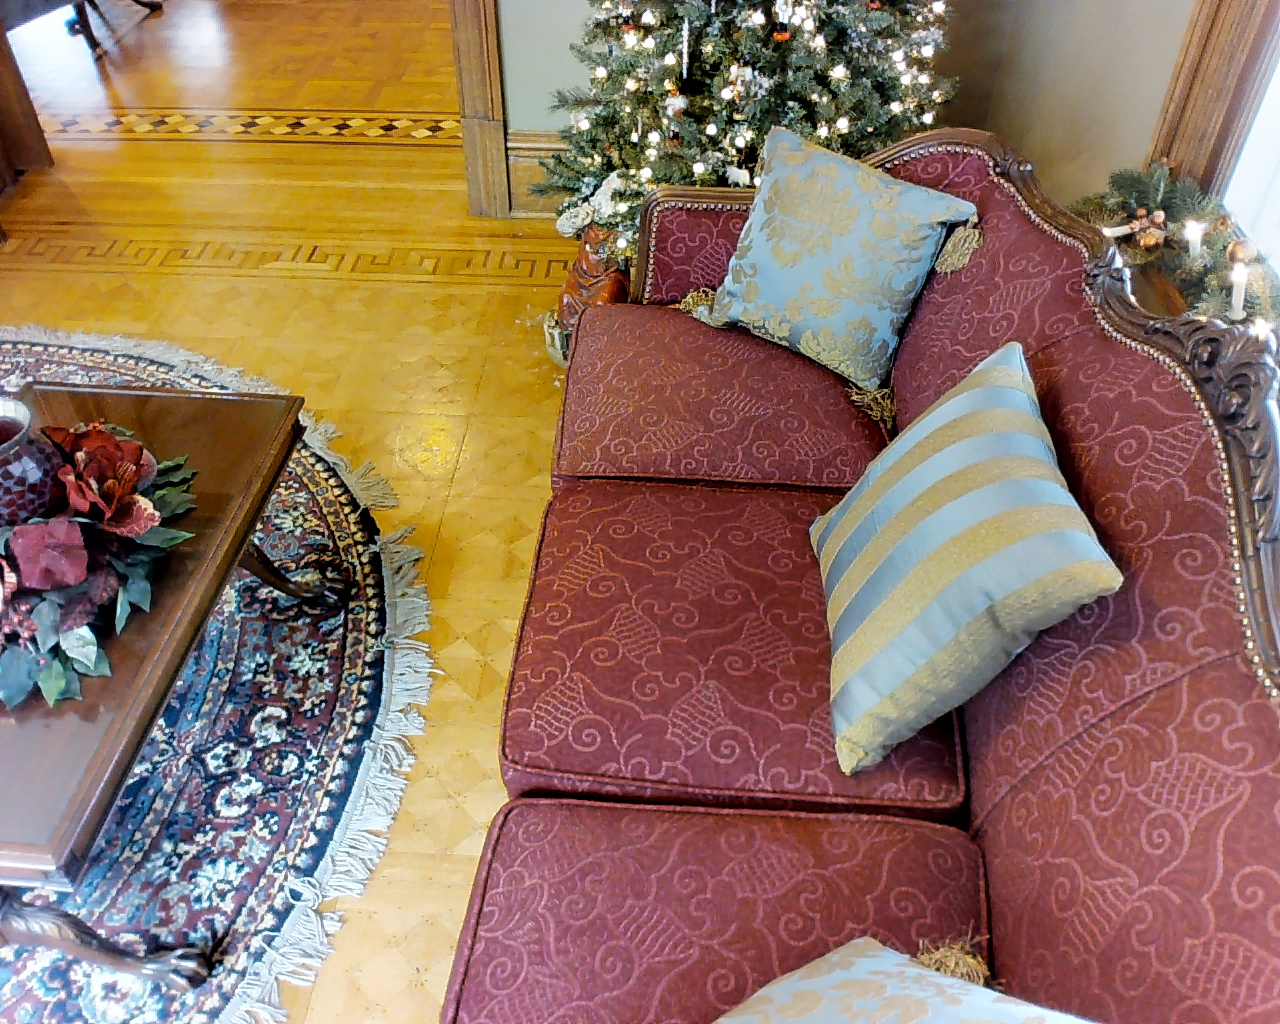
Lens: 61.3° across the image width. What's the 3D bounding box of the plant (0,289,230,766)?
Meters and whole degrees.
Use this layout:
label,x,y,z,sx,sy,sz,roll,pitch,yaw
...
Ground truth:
label,x,y,z,sx,sy,sz,roll,pitch,yaw
plant,-0.870,-0.010,1.450,0.370,0.290,0.610,2,42,2
